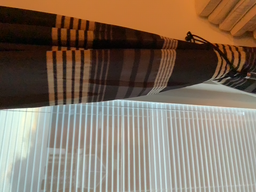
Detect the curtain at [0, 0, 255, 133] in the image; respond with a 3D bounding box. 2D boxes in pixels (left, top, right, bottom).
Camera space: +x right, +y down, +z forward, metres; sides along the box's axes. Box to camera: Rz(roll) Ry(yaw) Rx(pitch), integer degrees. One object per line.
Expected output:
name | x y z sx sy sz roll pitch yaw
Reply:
curtain | -0.070 -0.130 0.640 0.310 1.720 0.400 131 141 -66
